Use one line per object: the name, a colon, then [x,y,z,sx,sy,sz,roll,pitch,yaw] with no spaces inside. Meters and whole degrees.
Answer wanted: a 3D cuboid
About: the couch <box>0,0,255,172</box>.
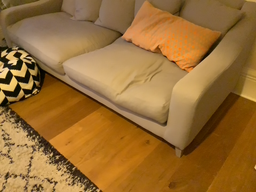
couch: [-0.210,-0.530,1.890,2.130,0.750,1.070,29,45,30]
